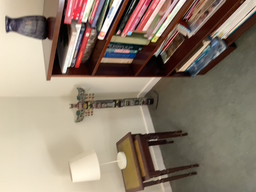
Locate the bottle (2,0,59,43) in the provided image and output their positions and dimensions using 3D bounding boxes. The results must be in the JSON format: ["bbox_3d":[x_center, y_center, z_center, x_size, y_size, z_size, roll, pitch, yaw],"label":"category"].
[{"bbox_3d":[-0.420,-0.320,0.920,0.110,0.210,0.110,-50,48,53],"label":"bottle"}]

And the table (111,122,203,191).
[{"bbox_3d":[0.200,0.490,1.680,0.440,0.480,0.390,-52,46,51],"label":"table"}]
